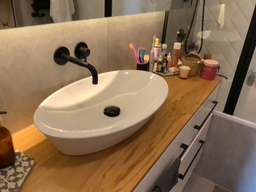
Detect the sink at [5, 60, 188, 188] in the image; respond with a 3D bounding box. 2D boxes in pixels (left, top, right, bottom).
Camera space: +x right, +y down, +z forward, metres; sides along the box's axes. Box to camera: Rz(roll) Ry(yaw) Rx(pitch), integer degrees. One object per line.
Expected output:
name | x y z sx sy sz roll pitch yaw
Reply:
sink | -0.060 0.020 0.850 0.360 0.110 0.650 21 31 29
